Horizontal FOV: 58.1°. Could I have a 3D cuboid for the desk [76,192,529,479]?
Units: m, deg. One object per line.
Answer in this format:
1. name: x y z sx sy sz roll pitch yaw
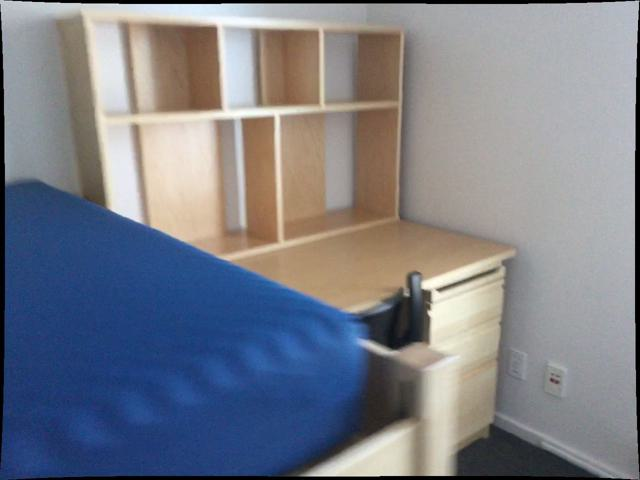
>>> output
1. desk: -0.030 0.401 2.050 1.269 0.851 0.830 -13 22 -37
